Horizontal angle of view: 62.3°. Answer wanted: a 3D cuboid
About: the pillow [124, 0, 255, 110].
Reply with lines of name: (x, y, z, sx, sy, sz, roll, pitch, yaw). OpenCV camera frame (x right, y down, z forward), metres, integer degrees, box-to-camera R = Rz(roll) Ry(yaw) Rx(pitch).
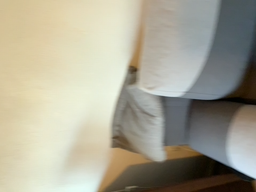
pillow: (0.300, -0.330, 0.950, 0.320, 0.490, 0.720, 21, 108, 62)
